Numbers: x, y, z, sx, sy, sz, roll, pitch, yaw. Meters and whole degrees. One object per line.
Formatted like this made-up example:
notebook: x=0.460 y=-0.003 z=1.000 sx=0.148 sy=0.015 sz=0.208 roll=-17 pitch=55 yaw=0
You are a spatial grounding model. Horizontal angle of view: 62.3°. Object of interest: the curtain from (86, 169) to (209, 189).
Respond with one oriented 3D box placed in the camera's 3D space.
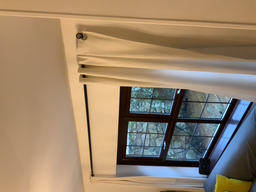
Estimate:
curtain: x=0.300 y=1.330 z=3.390 sx=0.180 sy=1.900 sz=0.240 roll=-91 pitch=4 yaw=-47
